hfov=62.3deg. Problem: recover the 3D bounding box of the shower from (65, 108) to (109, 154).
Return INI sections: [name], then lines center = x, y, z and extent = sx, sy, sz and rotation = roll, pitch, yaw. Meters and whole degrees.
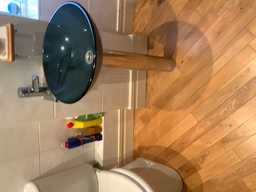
[shower]
center = -0.290, 0.240, 1.520
extent = 0.140, 0.280, 0.250
rotation = 9, 101, 43
